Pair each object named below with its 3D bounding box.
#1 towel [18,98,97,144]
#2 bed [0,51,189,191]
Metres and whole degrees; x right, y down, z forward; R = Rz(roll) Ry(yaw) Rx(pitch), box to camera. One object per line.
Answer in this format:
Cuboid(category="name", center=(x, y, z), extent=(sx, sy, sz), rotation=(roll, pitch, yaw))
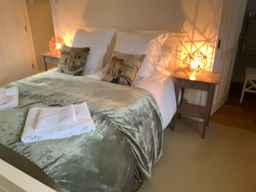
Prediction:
Cuboid(category="towel", center=(-0.470, 0.150, 1.460), extent=(0.450, 0.050, 0.400), rotation=(-7, 26, -14))
Cuboid(category="bed", center=(-0.550, 0.180, 2.270), extent=(1.730, 0.700, 2.130), rotation=(14, 29, 27))
